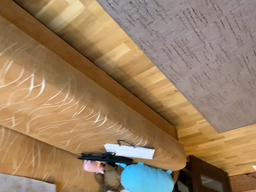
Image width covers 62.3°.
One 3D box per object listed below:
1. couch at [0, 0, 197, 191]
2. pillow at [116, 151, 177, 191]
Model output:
[{"bbox_3d":[-0.510,0.340,1.350,1.060,1.000,2.050,-24,137,30],"label":"couch"},{"bbox_3d":[0.140,0.630,1.690,0.430,0.270,0.180,12,142,-15],"label":"pillow"}]
